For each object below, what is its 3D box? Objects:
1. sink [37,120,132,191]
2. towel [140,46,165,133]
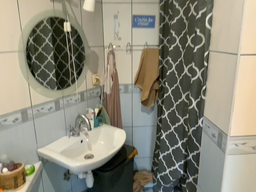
[{"bbox_3d":[-0.290,0.430,1.600,0.360,0.250,0.610,10,19,33],"label":"sink"},{"bbox_3d":[0.220,-0.060,1.970,0.190,0.790,0.130,4,16,15],"label":"towel"}]
